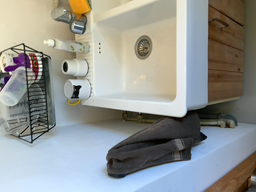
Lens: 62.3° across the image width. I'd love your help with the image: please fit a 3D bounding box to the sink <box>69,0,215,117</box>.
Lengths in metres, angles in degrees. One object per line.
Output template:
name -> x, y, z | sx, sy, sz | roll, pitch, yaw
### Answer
sink -> 0.000, -0.160, 1.010 | 0.730, 0.200, 0.400 | 6, 97, 44
